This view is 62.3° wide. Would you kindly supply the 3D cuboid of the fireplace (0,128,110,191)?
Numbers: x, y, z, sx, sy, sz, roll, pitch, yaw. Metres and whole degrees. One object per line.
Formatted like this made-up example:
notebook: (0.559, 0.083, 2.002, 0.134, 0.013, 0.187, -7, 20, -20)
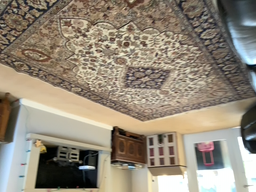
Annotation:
fireplace: (-0.940, 1.060, 3.140, 0.500, 0.810, 1.470, -16, 153, 32)
